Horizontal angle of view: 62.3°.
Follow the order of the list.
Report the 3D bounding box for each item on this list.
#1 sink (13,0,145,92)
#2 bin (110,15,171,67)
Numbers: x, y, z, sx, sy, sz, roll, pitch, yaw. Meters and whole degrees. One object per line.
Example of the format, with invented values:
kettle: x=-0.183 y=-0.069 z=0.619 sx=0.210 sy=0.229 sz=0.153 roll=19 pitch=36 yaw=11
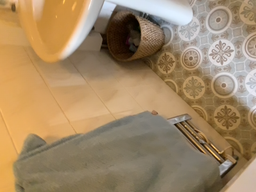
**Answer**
sink: x=-0.180 y=-0.410 z=0.740 sx=0.500 sy=0.180 sz=0.600 roll=50 pitch=126 yaw=28
bin: x=0.080 y=-0.350 z=1.400 sx=0.220 sy=0.250 sz=0.240 roll=43 pitch=123 yaw=32
